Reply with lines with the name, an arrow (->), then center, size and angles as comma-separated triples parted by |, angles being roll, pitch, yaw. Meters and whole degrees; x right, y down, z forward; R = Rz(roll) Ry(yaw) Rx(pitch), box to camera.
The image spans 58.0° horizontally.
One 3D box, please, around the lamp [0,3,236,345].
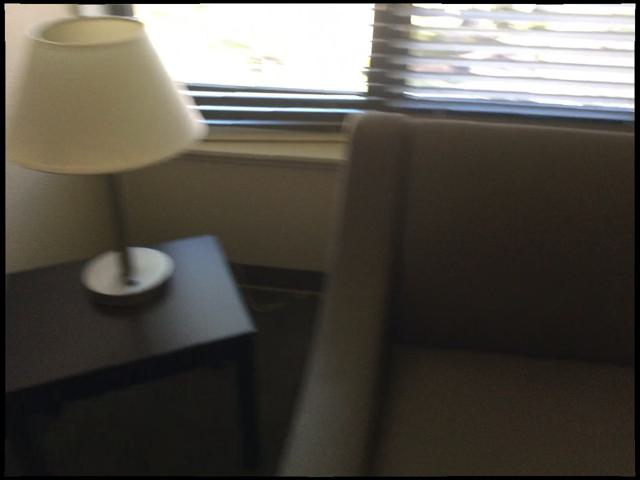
lamp -> -0.419, -0.140, 1.220 | 0.329, 0.591, 0.350 | 8, 36, 11
